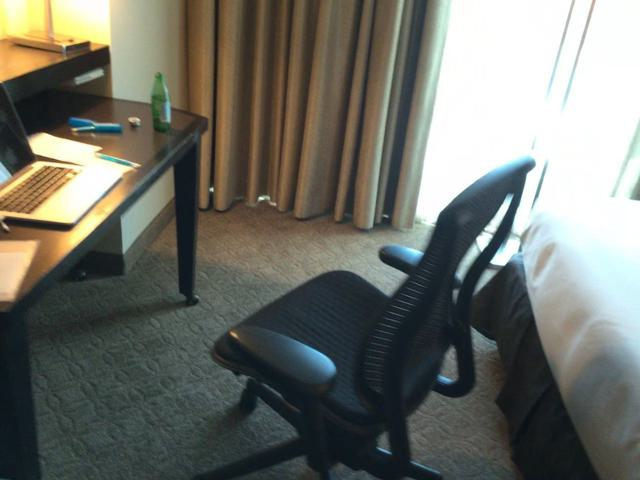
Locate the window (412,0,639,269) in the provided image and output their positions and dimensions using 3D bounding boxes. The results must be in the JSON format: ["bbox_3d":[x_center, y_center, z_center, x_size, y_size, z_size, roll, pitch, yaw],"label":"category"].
[{"bbox_3d":[1.060,-0.800,2.720,0.940,1.840,0.210,7,21,1],"label":"window"}]

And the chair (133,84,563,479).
[{"bbox_3d":[0.070,0.220,1.430,0.700,1.040,0.720,16,23,22],"label":"chair"}]
